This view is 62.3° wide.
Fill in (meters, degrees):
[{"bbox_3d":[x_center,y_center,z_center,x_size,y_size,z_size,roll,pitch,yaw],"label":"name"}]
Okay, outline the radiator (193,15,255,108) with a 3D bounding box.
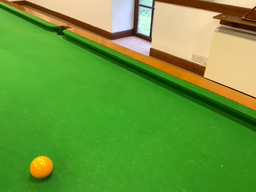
[{"bbox_3d":[1.300,-0.350,2.240,0.190,0.870,1.140,-23,34,-38],"label":"radiator"}]
